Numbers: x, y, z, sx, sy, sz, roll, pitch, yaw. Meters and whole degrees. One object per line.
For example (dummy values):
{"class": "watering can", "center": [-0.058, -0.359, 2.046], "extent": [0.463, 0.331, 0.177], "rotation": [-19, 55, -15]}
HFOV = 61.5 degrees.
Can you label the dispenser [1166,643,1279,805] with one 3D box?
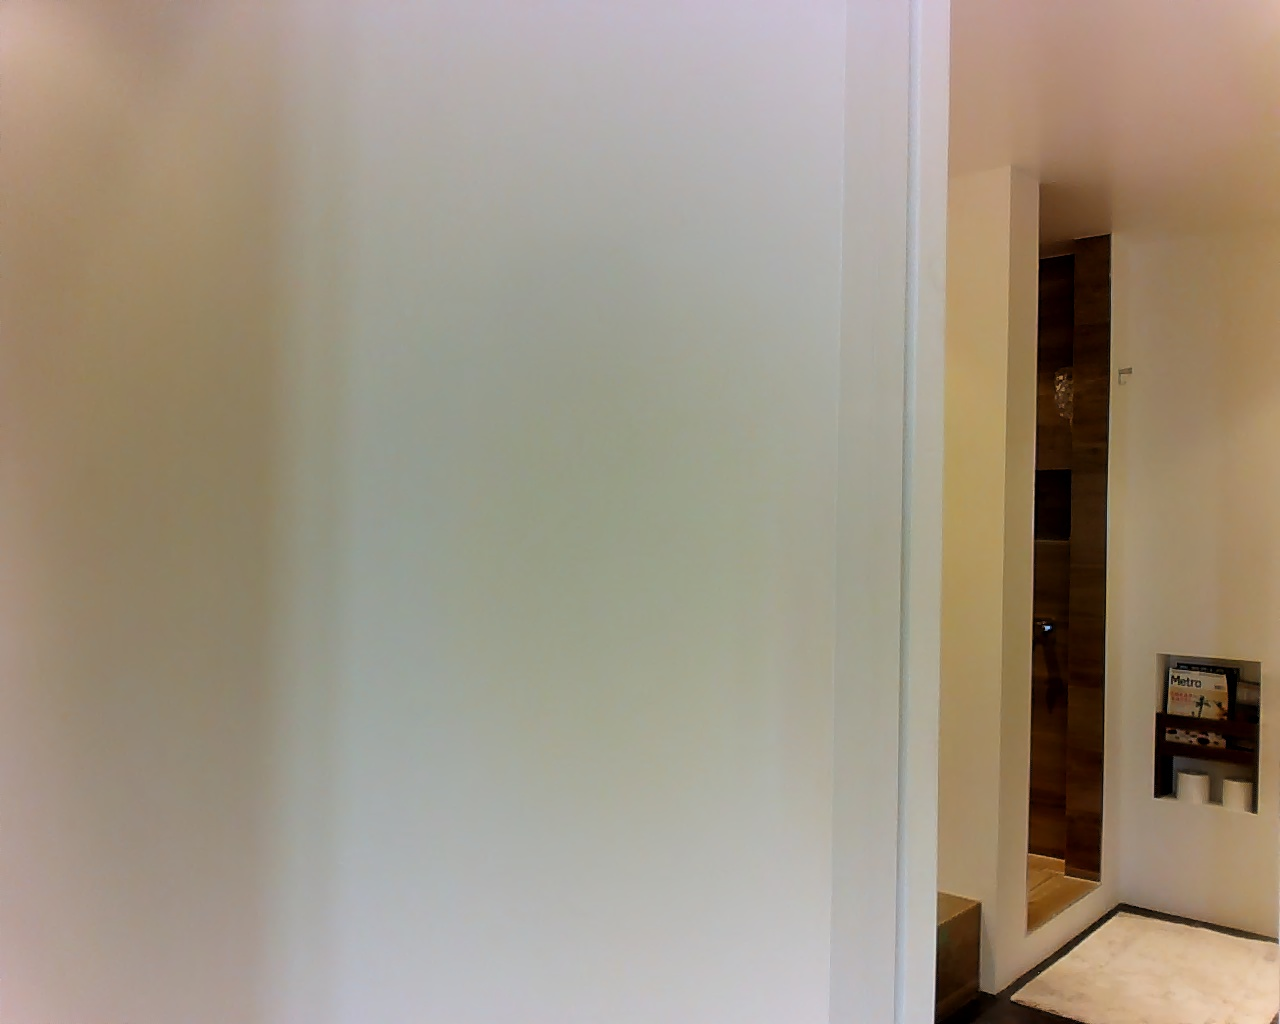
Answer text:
{"class": "dispenser", "center": [2.140, 0.760, 3.930], "extent": [0.350, 0.520, 0.170], "rotation": [1, 0, 42]}
